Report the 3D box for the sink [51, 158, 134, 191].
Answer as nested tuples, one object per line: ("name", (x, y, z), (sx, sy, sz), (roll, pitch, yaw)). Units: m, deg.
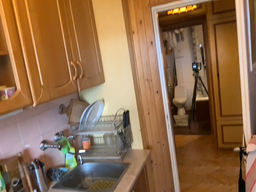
("sink", (-0.230, 0.620, 1.500), (0.430, 0.190, 0.360), (-4, 11, 20))
